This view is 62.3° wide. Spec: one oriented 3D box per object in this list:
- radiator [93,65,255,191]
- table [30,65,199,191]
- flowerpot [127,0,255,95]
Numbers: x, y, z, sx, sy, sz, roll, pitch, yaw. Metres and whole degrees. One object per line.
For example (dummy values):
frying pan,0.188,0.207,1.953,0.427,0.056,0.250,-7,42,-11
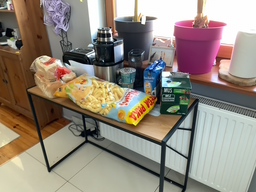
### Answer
radiator,0.250,0.240,1.590,1.140,0.700,0.200,19,34,32
table,-0.110,0.290,1.480,0.970,0.740,0.460,18,33,32
flowerpot,0.360,-0.640,1.130,0.690,1.080,0.320,20,35,34
